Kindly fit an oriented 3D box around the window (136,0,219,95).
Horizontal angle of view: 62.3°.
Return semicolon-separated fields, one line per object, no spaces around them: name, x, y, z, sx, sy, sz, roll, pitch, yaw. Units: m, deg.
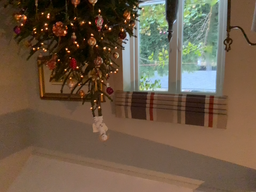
window;0.500;-0.530;2.270;0.830;1.010;0.090;3;-170;20
